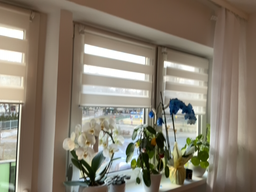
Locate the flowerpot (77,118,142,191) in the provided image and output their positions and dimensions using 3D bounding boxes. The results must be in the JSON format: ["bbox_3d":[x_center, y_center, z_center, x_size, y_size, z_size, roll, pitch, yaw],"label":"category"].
[{"bbox_3d":[-0.130,0.410,1.440,0.290,0.490,0.320,4,-3,-41],"label":"flowerpot"}]

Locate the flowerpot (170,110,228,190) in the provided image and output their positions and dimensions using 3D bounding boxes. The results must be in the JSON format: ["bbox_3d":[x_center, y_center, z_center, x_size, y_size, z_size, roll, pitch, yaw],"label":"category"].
[{"bbox_3d":[0.640,0.440,1.910,0.410,0.600,0.310,4,-3,-38],"label":"flowerpot"}]
